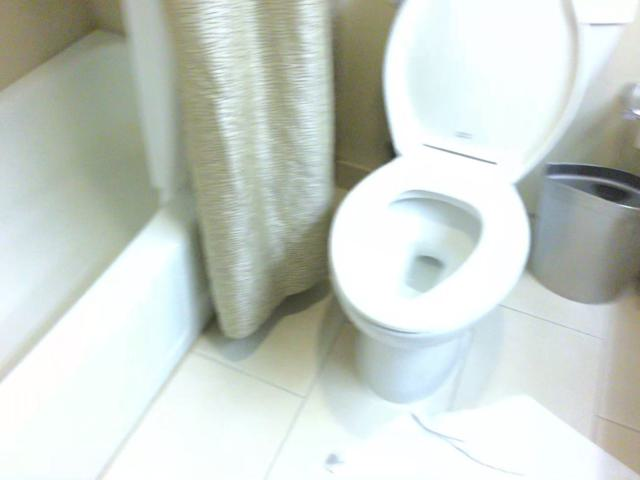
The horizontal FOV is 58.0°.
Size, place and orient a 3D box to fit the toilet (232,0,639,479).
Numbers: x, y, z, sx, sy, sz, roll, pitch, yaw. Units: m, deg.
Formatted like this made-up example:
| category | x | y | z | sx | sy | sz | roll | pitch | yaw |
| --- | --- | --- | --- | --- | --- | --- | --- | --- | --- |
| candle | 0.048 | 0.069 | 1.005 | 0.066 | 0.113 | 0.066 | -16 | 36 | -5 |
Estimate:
| category | x | y | z | sx | sy | sz | roll | pitch | yaw |
| --- | --- | --- | --- | --- | --- | --- | --- | --- | --- |
| toilet | 0.260 | -0.110 | 1.150 | 0.450 | 0.850 | 0.760 | 18 | 48 | 17 |

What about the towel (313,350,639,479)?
| category | x | y | z | sx | sy | sz | roll | pitch | yaw |
| --- | --- | --- | --- | --- | --- | --- | --- | --- | --- |
| towel | 0.410 | 0.520 | 1.120 | 0.810 | 0.040 | 0.400 | 18 | 48 | 17 |

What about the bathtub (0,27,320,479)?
| category | x | y | z | sx | sy | sz | roll | pitch | yaw |
| --- | --- | --- | --- | --- | --- | --- | --- | --- | --- |
| bathtub | -0.630 | 0.060 | 1.320 | 0.730 | 0.380 | 1.430 | 18 | 48 | 17 |
